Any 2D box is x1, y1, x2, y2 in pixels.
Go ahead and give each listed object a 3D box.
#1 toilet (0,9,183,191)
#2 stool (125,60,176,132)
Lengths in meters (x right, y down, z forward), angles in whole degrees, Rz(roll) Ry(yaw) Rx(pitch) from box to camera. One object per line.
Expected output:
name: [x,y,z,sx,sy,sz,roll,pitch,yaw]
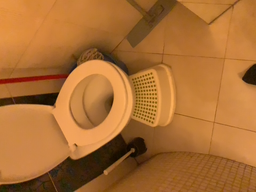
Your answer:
toilet: [-0.200,0.030,1.000,0.520,0.850,0.410,-42,74,30]
stool: [0.130,-0.010,1.200,0.240,0.150,0.370,3,98,32]
